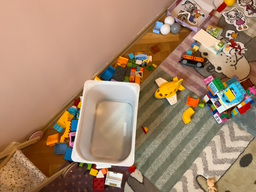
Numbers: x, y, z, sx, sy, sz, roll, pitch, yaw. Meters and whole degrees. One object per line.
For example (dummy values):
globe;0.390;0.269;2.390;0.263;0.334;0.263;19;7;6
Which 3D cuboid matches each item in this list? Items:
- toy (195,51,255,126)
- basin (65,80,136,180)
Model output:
toy;0.570;-0.030;1.150;0.250;0.270;0.230;34;76;13
basin;-0.120;0.180;1.150;0.330;0.190;0.500;0;71;2
